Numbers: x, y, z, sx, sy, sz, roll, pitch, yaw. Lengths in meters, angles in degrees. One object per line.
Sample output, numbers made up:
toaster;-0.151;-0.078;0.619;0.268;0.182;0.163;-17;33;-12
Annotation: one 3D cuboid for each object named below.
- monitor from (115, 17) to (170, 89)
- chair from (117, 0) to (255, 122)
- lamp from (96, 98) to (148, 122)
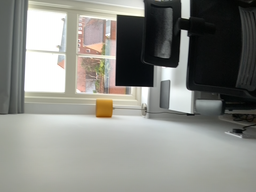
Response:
monitor;0.110;-0.320;1.620;0.040;0.380;0.500;-161;76;-79
chair;0.570;-0.220;1.170;0.750;1.120;0.640;180;92;-77
lamp;-0.060;0.130;1.840;0.180;0.420;0.140;115;154;-60
